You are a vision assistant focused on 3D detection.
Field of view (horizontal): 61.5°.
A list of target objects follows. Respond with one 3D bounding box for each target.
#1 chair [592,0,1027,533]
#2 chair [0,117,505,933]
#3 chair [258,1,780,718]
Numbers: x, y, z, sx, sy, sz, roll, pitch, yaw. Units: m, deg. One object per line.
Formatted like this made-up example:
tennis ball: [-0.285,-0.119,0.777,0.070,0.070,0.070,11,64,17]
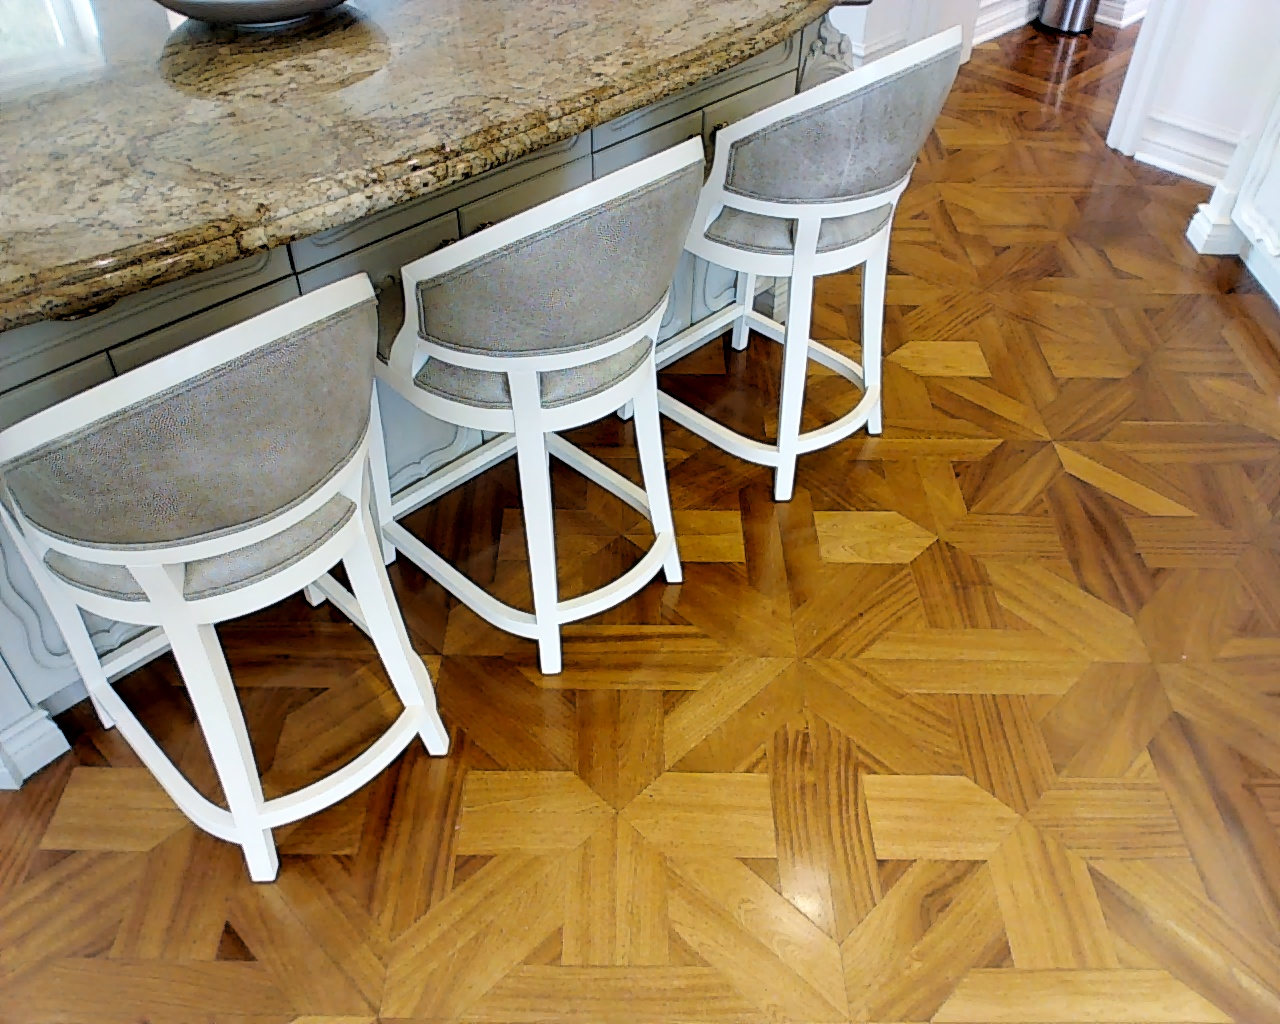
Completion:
chair: [0.320,-0.620,2.430,0.650,1.050,0.530,32,51,30]
chair: [-0.620,0.050,1.670,0.510,1.040,0.540,-33,52,-31]
chair: [-0.200,-0.270,2.030,0.530,1.060,0.630,-32,52,-31]
